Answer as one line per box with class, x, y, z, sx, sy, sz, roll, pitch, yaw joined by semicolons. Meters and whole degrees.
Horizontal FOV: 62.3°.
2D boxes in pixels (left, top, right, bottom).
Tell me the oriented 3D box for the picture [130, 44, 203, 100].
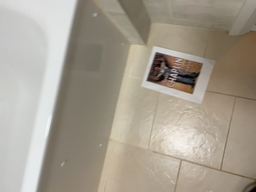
picture;0.180;-0.120;1.020;0.300;0.010;0.200;18;92;15
